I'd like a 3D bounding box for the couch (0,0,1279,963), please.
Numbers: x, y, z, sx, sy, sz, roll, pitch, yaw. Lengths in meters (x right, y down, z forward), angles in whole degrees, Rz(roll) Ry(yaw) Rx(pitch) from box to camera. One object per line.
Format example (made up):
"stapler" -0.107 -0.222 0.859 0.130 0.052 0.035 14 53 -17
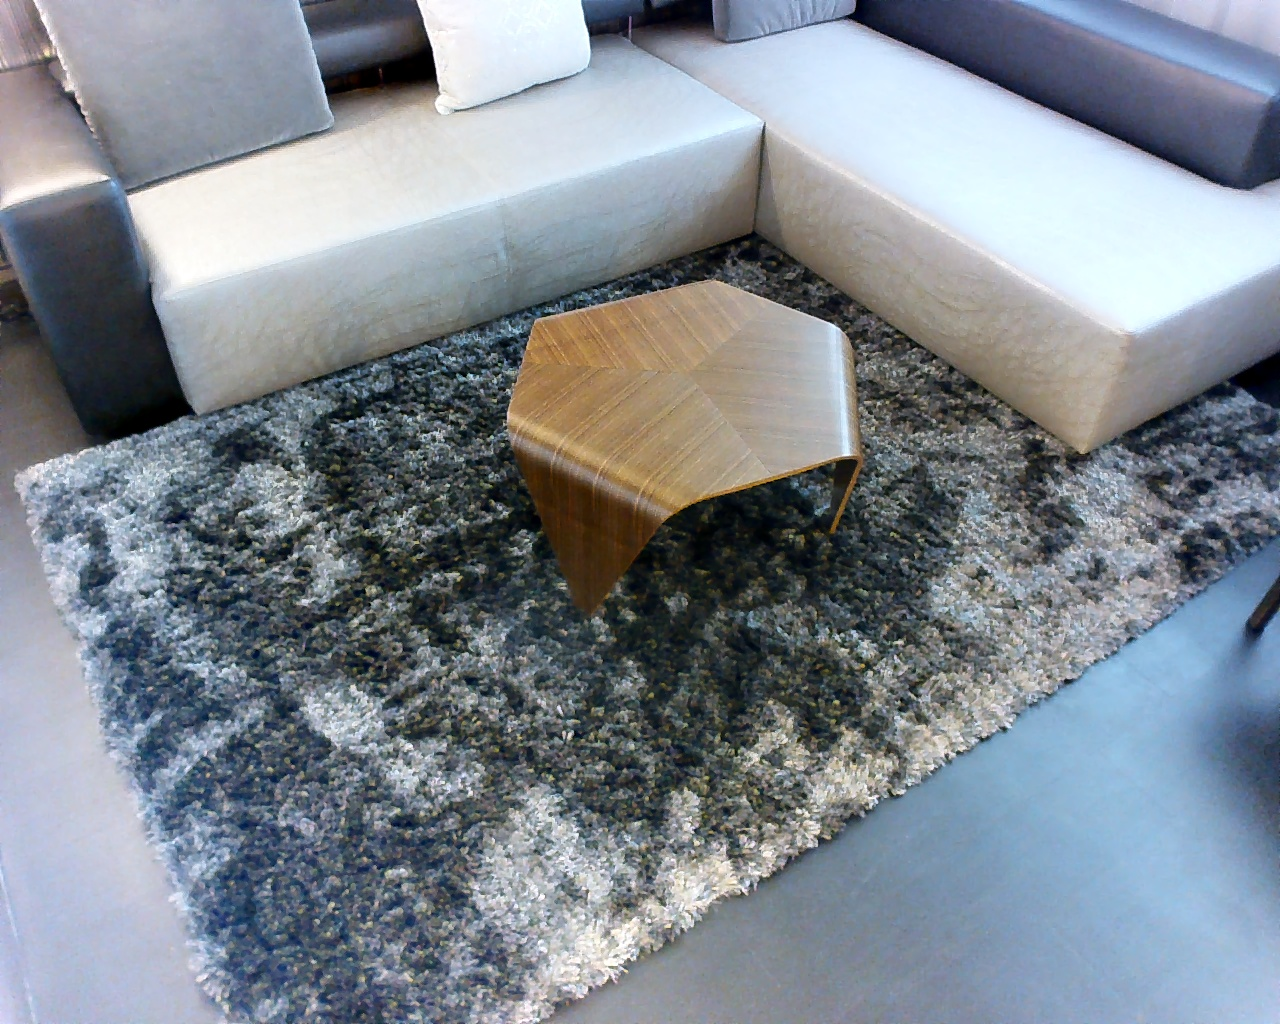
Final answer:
"couch" 0.130 -0.720 2.490 2.870 0.720 2.000 -24 49 -24

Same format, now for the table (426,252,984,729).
"table" 0.090 -0.090 2.080 0.780 0.380 0.690 -18 47 -18

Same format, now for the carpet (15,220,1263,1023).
"carpet" -0.050 0.030 2.210 1.990 0.080 1.590 -24 49 -24
